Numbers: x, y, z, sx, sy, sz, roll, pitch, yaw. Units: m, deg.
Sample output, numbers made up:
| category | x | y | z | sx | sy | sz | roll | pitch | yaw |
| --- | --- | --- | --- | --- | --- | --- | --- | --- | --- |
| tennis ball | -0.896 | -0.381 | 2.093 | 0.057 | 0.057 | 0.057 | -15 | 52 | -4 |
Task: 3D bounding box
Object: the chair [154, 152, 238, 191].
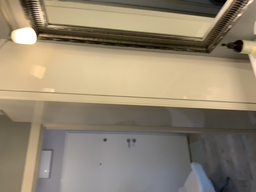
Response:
| category | x | y | z | sx | sy | sz | roll | pitch | yaw |
| --- | --- | --- | --- | --- | --- | --- | --- | --- | --- |
| chair | 0.820 | 1.260 | 2.730 | 0.770 | 0.700 | 0.710 | -106 | 21 | -62 |
